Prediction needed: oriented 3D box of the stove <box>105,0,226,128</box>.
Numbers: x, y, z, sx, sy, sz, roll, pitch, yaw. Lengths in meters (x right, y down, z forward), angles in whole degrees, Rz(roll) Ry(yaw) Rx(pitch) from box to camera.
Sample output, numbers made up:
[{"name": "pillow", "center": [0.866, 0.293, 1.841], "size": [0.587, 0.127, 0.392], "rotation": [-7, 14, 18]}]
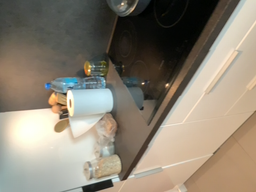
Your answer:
[{"name": "stove", "center": [0.070, -0.260, 0.880], "size": [0.530, 0.020, 0.590], "rotation": [62, 143, 36]}]
